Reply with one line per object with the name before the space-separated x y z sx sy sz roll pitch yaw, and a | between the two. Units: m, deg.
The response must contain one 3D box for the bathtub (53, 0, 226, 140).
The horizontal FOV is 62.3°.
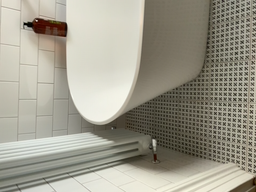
bathtub | 0.030 -0.690 1.190 0.790 0.560 1.680 1 89 50
